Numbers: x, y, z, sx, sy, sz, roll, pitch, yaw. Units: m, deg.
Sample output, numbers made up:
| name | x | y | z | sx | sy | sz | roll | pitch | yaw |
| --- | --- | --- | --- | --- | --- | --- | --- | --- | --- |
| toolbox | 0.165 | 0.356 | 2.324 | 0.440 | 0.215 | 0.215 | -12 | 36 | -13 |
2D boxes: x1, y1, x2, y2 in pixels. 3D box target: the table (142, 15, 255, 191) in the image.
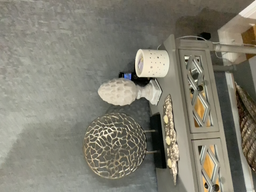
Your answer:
| name | x | y | z | sx | sy | sz | roll | pitch | yaw |
| --- | --- | --- | --- | --- | --- | --- | --- | --- | --- |
| table | 0.530 | 0.160 | 1.100 | 0.320 | 0.760 | 1.010 | 141 | 126 | -68 |
